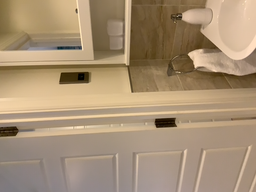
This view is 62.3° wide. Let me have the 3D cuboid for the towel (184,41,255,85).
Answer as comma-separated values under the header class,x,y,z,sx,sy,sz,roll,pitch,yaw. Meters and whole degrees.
class,x,y,z,sx,sy,sz,roll,pitch,yaw
towel,0.580,-0.180,1.100,0.200,0.510,0.140,-100,10,-52
